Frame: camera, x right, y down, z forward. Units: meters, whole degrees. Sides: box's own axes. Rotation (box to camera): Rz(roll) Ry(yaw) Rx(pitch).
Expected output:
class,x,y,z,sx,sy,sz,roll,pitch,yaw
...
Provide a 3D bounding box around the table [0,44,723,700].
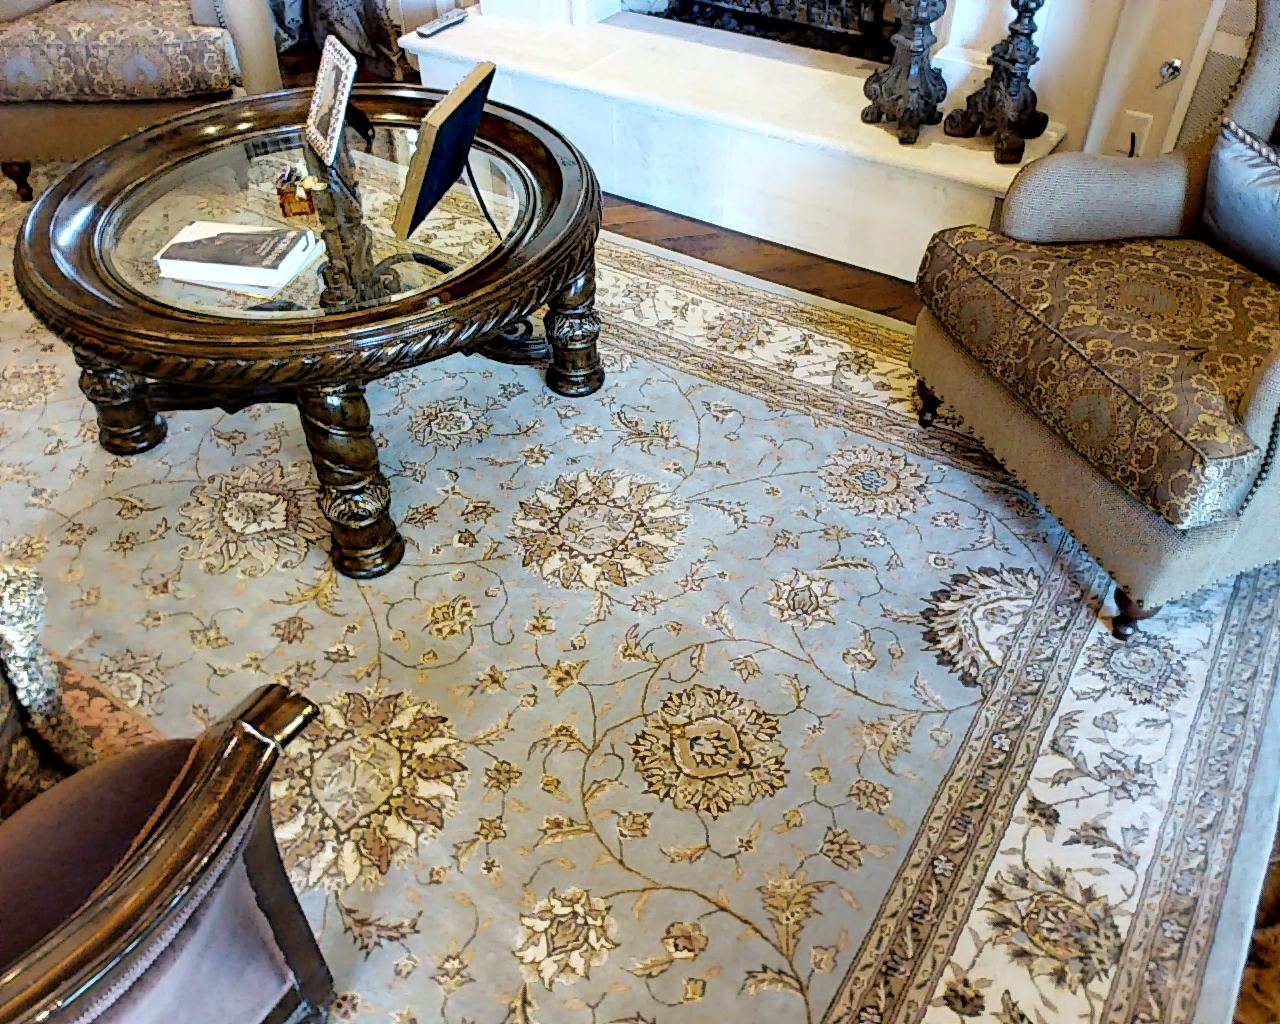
class,x,y,z,sx,sy,sz,roll,pitch,yaw
table,-0.690,-0.460,2.450,1.260,0.600,1.280,23,47,24

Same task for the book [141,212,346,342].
class,x,y,z,sx,sy,sz,roll,pitch,yaw
book,-0.760,-0.460,2.080,0.280,0.120,0.230,9,43,10
